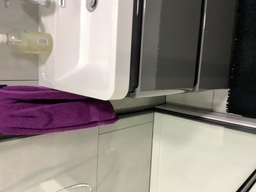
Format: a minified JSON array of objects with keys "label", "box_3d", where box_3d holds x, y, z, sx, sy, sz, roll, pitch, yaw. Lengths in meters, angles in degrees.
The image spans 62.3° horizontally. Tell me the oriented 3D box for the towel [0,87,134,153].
[{"label":"towel","box_3d":[-0.210,0.060,0.850,0.150,0.520,0.170,9,99,43]}]
